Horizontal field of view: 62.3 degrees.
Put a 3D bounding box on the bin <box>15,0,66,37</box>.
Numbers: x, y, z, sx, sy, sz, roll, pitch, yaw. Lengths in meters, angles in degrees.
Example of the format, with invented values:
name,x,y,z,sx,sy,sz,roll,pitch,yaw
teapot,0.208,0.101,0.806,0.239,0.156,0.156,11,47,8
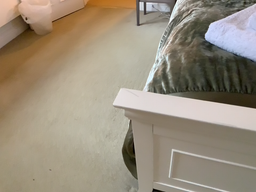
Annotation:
name,x,y,z,sx,sy,sz,roll,pitch,yaw
bin,-0.910,-0.860,2.250,0.290,0.280,0.330,17,48,22
